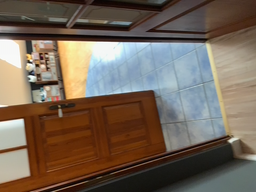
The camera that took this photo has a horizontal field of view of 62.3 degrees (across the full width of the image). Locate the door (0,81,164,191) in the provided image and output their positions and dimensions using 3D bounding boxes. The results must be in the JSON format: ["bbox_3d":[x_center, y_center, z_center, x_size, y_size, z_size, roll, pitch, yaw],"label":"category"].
[{"bbox_3d":[-0.570,0.360,1.970,0.090,2.020,0.860,-22,77,60],"label":"door"}]
